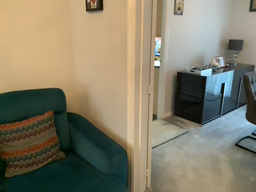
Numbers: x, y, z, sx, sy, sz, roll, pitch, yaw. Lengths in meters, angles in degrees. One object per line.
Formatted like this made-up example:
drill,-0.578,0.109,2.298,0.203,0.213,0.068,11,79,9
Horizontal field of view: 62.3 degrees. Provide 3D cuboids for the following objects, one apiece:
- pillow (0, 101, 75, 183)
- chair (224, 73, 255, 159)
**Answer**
pillow,-0.740,0.350,1.690,0.470,0.400,0.210,-34,33,-30
chair,1.740,0.250,2.690,0.570,0.940,0.640,-13,22,-37
